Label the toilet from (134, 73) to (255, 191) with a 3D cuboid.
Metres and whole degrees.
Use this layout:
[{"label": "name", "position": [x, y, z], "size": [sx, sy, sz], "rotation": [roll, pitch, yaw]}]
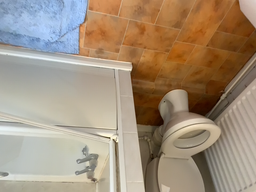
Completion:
[{"label": "toilet", "position": [0.400, 0.390, 1.590], "size": [0.460, 0.850, 0.650], "rotation": [7, 139, -15]}]
